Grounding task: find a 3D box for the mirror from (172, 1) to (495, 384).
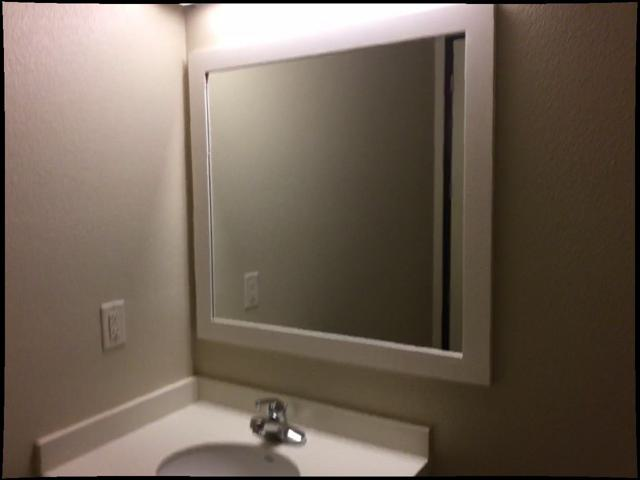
[{"bbox_3d":[-0.010,-0.110,1.570,0.938,0.862,0.070,2,7,30],"label":"mirror"}]
